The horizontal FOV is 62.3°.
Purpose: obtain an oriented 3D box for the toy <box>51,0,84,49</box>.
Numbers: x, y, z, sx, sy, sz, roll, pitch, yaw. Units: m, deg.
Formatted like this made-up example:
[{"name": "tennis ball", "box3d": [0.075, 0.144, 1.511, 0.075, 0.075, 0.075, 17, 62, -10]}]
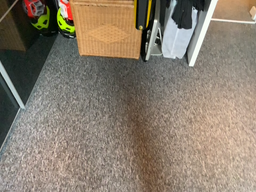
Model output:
[{"name": "toy", "box3d": [-0.530, -0.710, 1.930, 0.150, 0.460, 0.290, 4, 50, 0]}]
